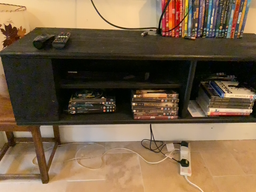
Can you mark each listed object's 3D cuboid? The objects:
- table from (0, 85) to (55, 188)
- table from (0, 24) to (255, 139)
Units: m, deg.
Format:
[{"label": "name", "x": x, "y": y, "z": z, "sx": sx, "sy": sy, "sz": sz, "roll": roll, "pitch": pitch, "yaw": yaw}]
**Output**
[{"label": "table", "x": -0.670, "y": 0.200, "z": 1.120, "sx": 0.420, "sy": 0.400, "sz": 0.340, "roll": 3, "pitch": 29, "yaw": -1}, {"label": "table", "x": 0.140, "y": -0.100, "z": 1.010, "sx": 1.280, "sy": 0.350, "sz": 0.430, "roll": -1, "pitch": 29, "yaw": -7}]
